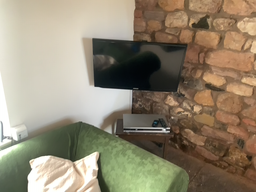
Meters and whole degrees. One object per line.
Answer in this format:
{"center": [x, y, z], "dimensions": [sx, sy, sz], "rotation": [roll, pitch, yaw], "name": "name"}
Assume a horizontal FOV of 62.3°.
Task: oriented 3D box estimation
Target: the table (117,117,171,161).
{"center": [0.150, 0.430, 2.150], "dimensions": [0.490, 0.300, 0.300], "rotation": [3, 22, 1], "name": "table"}

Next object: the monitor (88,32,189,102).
{"center": [0.070, -0.230, 1.790], "dimensions": [0.750, 0.450, 0.090], "rotation": [11, 26, -4], "name": "monitor"}

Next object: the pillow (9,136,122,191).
{"center": [-0.350, 0.550, 1.220], "dimensions": [0.460, 0.430, 0.160], "rotation": [-43, -5, -8], "name": "pillow"}
